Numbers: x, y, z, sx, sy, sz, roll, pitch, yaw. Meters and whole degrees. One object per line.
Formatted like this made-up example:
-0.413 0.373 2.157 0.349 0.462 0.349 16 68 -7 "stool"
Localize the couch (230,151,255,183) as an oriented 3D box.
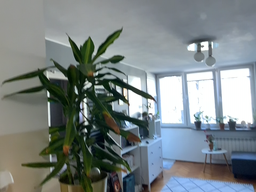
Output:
2.460 1.490 4.510 0.510 0.460 0.610 -3 -1 26 "couch"
